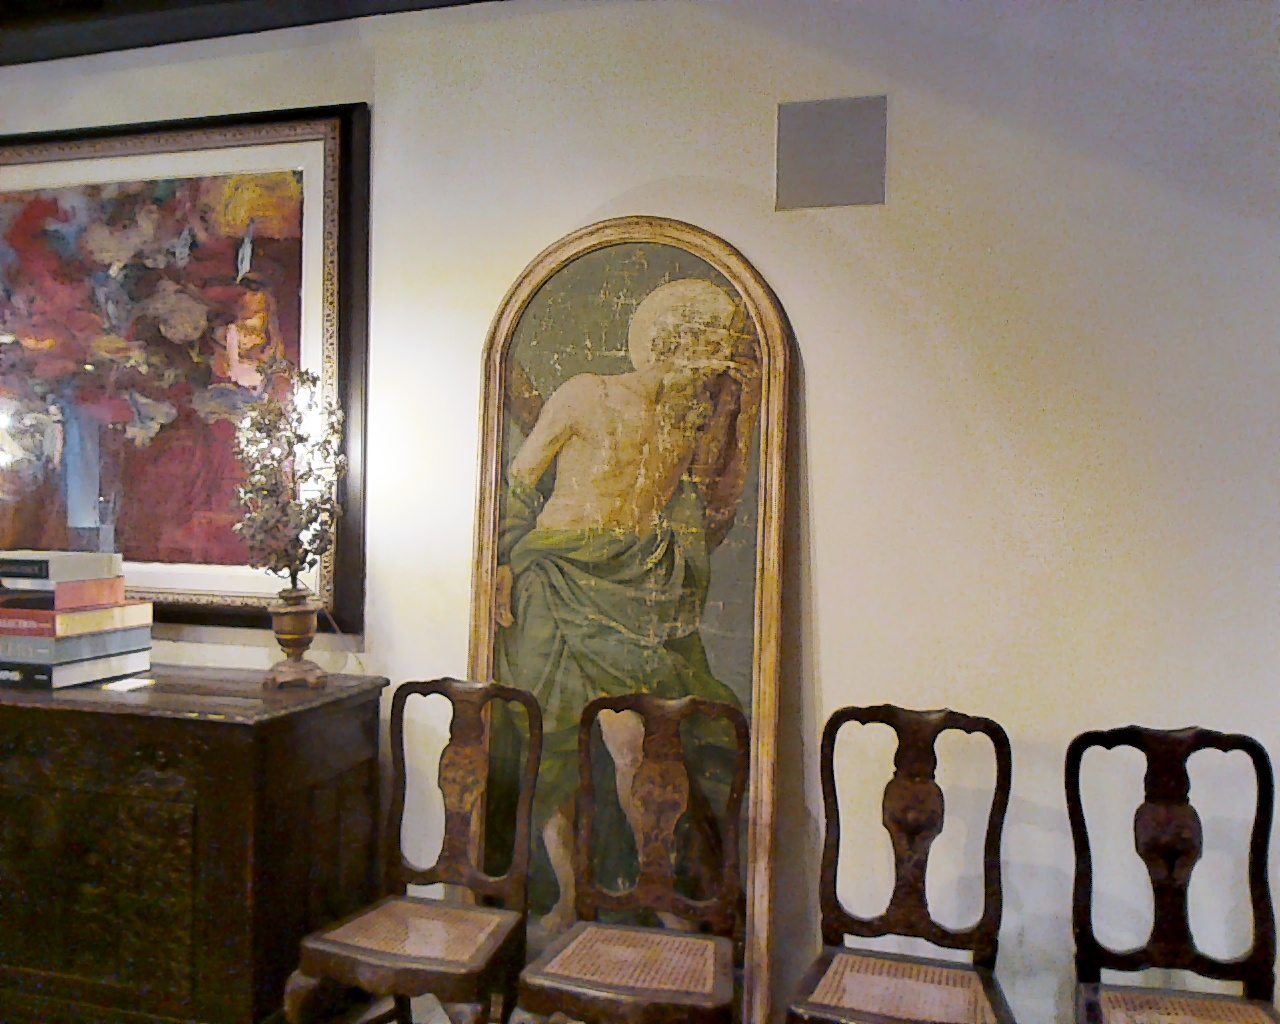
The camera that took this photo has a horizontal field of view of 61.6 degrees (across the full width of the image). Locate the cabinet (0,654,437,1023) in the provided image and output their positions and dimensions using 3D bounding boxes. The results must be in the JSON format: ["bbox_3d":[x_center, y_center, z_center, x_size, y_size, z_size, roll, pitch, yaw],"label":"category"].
[{"bbox_3d":[-1.690,0.960,3.160,2.000,0.920,0.750,1,0,15],"label":"cabinet"}]

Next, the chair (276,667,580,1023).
[{"bbox_3d":[-0.520,0.950,2.750,0.580,1.000,0.520,1,0,15],"label":"chair"}]

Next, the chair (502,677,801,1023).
[{"bbox_3d":[0.050,0.960,2.610,0.600,1.000,0.540,1,0,15],"label":"chair"}]

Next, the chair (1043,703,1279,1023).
[{"bbox_3d":[1.200,0.980,2.310,0.560,1.010,0.530,1,0,15],"label":"chair"}]

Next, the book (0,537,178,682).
[{"bbox_3d":[-1.730,0.270,3.170,0.510,0.370,0.430,1,0,14],"label":"book"}]

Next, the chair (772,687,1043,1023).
[{"bbox_3d":[0.610,0.970,2.480,0.530,1.010,0.550,1,0,15],"label":"chair"}]
